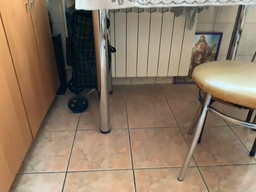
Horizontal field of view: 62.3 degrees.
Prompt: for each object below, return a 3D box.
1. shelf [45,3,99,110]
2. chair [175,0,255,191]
[{"bbox_3d":[-0.320,-0.280,1.390,0.230,0.550,0.510,-2,29,-6],"label":"shelf"},{"bbox_3d":[0.460,-0.060,0.820,0.390,0.910,0.320,11,31,16],"label":"chair"}]
